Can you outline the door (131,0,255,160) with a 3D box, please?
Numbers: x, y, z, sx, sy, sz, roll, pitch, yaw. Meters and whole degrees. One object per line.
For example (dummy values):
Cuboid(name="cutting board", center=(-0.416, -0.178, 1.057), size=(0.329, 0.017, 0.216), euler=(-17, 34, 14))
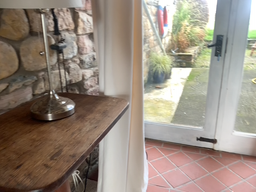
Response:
Cuboid(name="door", center=(0.710, -0.440, 1.470), size=(1.430, 1.920, 0.040), euler=(6, 21, 18))
